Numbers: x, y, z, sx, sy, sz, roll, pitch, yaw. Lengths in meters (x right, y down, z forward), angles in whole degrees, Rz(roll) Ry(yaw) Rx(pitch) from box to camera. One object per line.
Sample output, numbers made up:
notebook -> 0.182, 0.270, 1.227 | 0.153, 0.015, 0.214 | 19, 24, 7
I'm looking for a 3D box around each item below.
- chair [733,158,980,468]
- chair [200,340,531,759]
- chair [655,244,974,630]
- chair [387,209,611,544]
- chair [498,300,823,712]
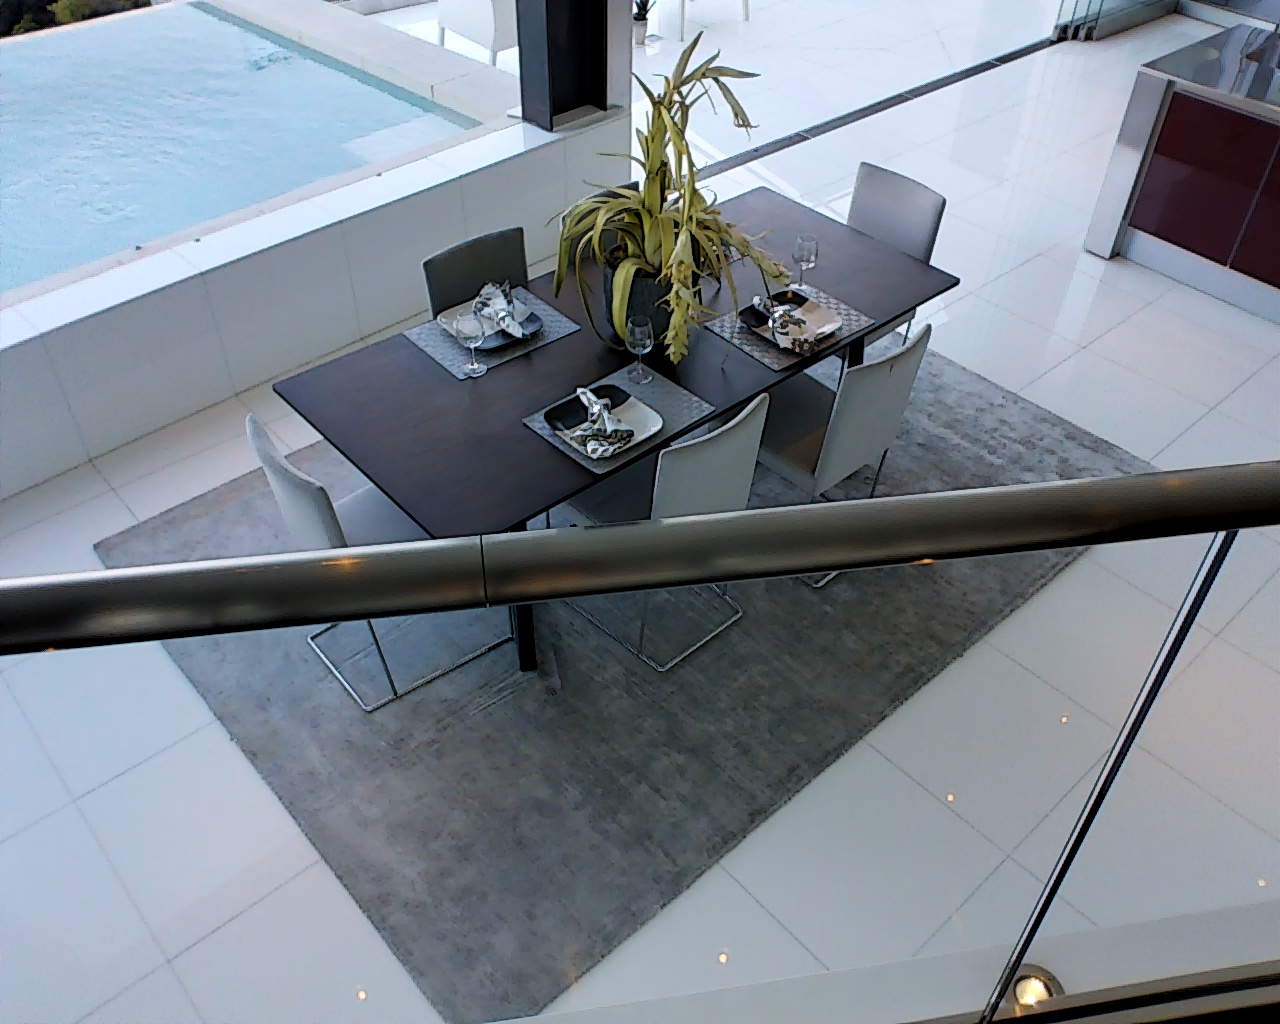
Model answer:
chair -> 0.800, -0.770, 4.160 | 0.590, 0.890, 0.560 | -29, 49, -30
chair -> -0.760, 0.100, 3.130 | 0.580, 0.860, 0.640 | -28, 49, -29
chair -> 0.530, -0.260, 3.580 | 0.630, 0.890, 0.700 | -29, 50, -30
chair -> -0.460, -0.470, 3.770 | 0.460, 0.920, 0.550 | 33, 50, 30
chair -> 0.040, -0.030, 3.310 | 0.630, 0.880, 0.680 | -25, 48, -27
